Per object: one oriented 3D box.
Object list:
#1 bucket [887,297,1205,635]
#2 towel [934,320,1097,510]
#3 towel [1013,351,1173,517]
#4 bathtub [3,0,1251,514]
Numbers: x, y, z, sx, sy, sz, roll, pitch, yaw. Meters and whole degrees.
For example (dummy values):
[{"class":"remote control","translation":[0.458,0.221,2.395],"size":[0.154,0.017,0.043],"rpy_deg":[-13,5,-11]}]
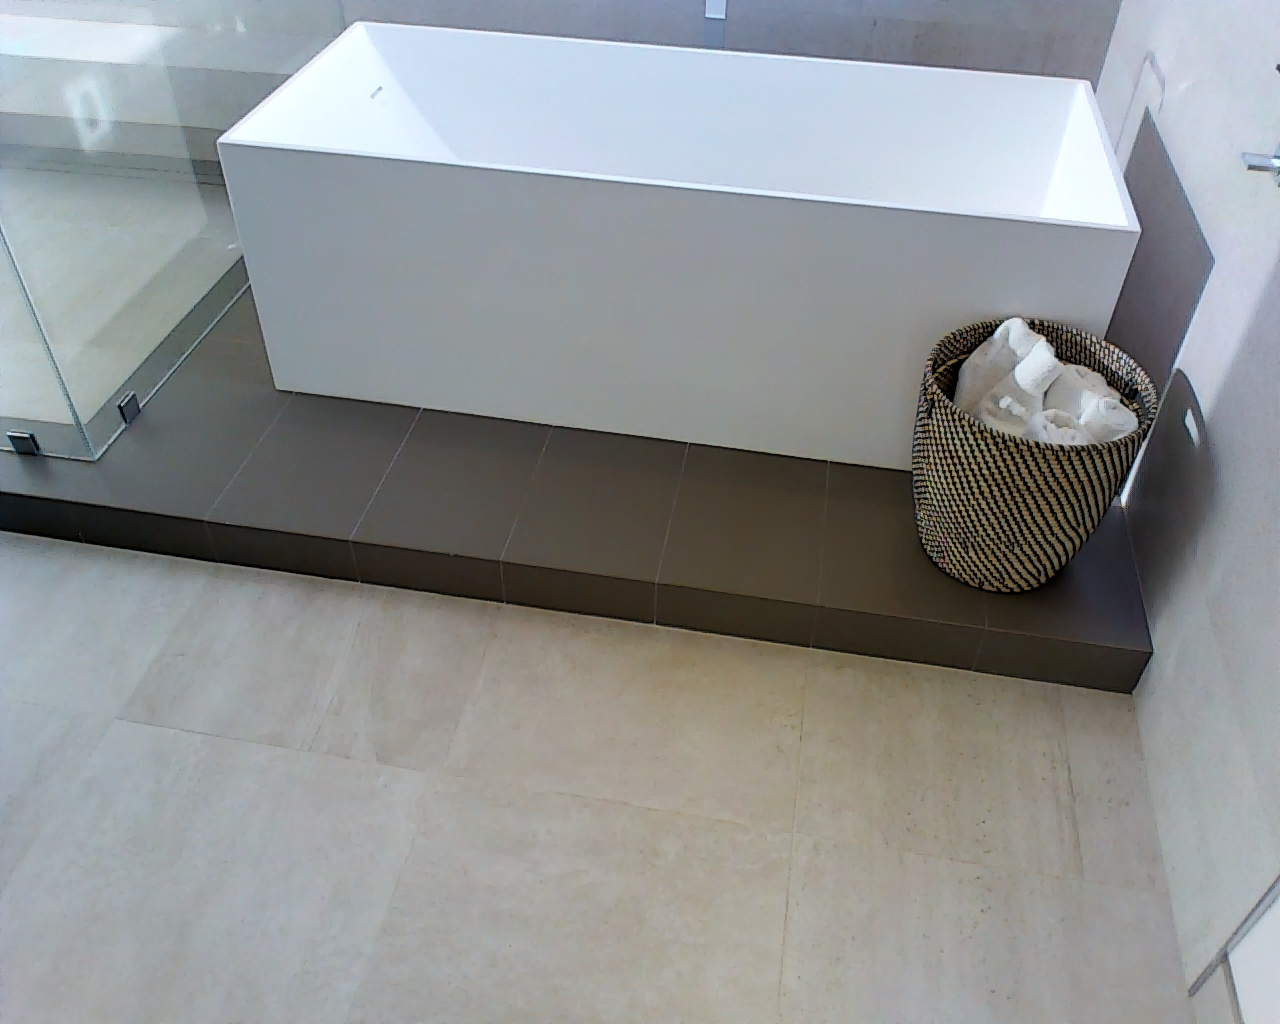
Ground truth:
[{"class":"bucket","translation":[0.710,-0.090,1.990],"size":[0.420,0.420,0.390],"rpy_deg":[8,42,8]},{"class":"towel","translation":[0.690,-0.180,2.000],"size":[0.190,0.270,0.130],"rpy_deg":[32,50,29]},{"class":"towel","translation":[0.780,-0.140,1.880],"size":[0.190,0.150,0.250],"rpy_deg":[7,42,6]},{"class":"bathtub","translation":[0.000,-0.790,2.610],"size":[2.310,0.630,1.220],"rpy_deg":[8,42,8]}]
